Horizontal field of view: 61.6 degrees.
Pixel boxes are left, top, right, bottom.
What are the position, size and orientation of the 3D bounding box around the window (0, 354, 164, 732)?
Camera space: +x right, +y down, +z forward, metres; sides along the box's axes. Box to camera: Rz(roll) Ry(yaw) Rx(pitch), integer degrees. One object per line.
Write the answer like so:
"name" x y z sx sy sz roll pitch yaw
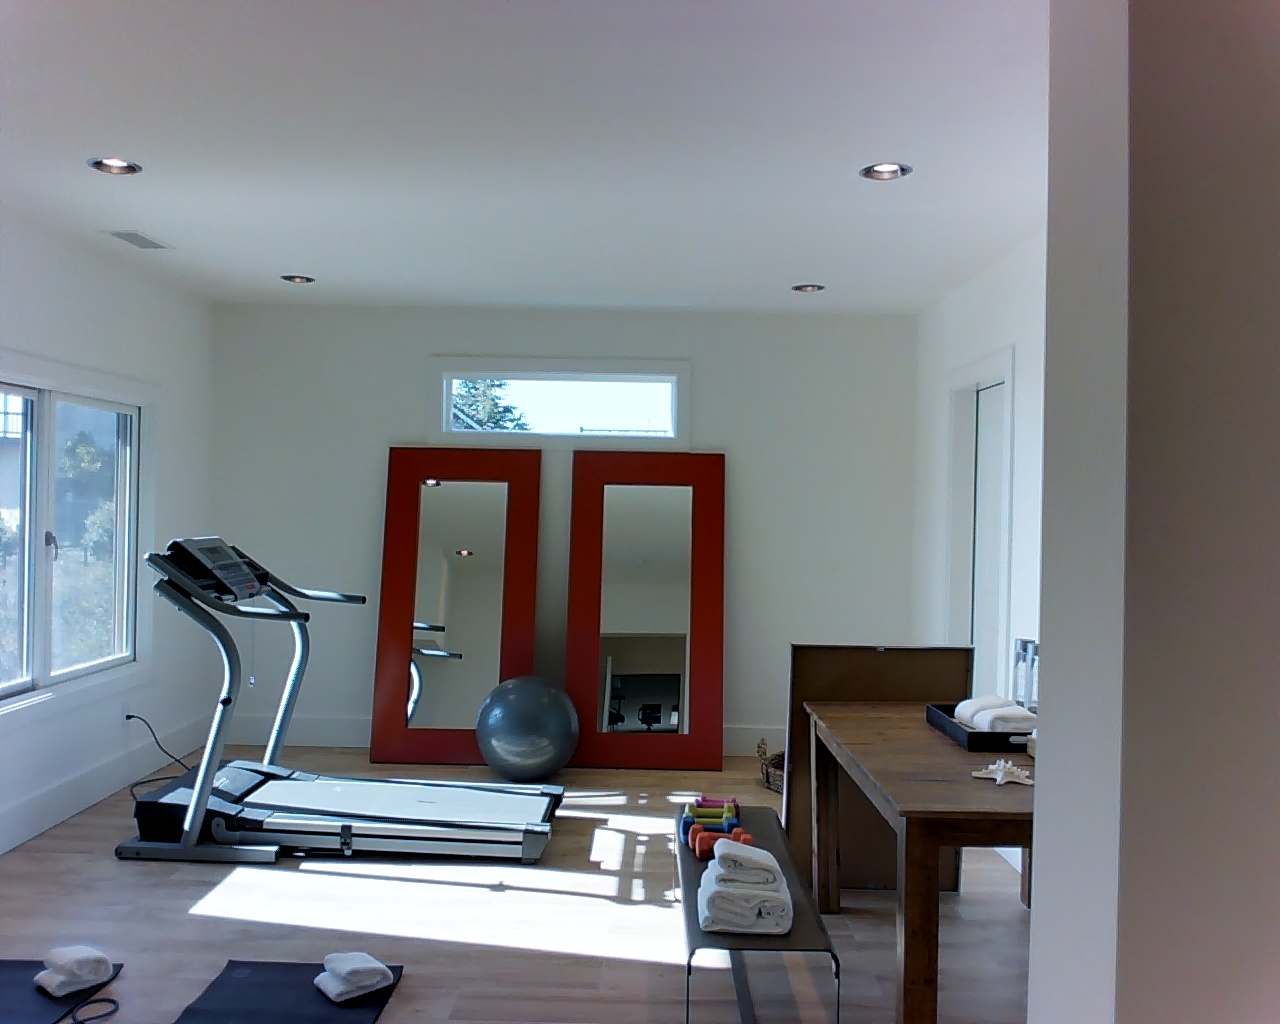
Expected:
"window" -2.780 0.130 5.090 0.130 1.610 1.940 1 1 1
